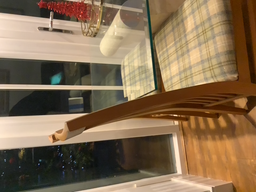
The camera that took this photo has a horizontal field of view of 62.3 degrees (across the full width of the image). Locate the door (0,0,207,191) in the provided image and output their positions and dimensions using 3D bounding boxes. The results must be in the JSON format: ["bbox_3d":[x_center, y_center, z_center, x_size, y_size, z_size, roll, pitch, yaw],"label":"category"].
[{"bbox_3d":[-0.450,-0.320,1.540,0.090,2.120,2.200,151,116,-63],"label":"door"}]
